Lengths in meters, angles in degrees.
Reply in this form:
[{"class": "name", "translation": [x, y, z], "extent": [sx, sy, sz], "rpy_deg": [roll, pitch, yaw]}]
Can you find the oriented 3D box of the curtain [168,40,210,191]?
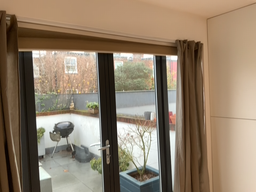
[{"class": "curtain", "translation": [0.710, 0.470, 2.410], "extent": [0.450, 2.110, 0.170], "rpy_deg": [-4, 2, -40]}]
